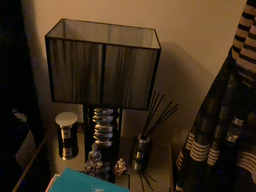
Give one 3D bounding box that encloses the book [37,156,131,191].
[{"bbox_3d":[-0.130,0.310,0.620,0.250,0.090,0.210,9,34,2],"label":"book"}]
